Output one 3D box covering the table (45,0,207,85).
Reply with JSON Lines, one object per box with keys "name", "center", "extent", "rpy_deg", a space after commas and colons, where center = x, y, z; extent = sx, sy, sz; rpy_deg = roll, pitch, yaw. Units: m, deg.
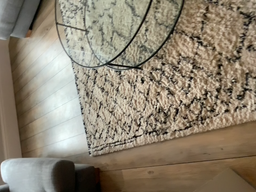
{"name": "table", "center": [-0.150, -0.720, 1.460], "extent": [1.020, 0.340, 1.020], "rpy_deg": [-22, 76, 41]}
